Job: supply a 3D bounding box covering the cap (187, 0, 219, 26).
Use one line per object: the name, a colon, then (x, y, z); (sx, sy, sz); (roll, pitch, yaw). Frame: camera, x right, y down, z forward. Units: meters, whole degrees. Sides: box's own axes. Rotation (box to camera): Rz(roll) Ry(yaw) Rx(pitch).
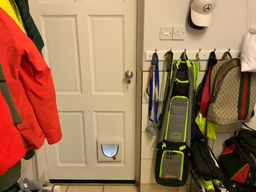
cap: (0.490, -0.580, 1.380); (0.160, 0.230, 0.100); (0, 18, 0)
